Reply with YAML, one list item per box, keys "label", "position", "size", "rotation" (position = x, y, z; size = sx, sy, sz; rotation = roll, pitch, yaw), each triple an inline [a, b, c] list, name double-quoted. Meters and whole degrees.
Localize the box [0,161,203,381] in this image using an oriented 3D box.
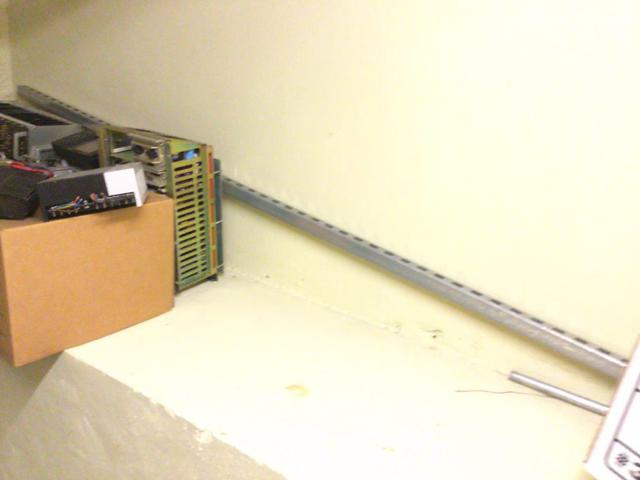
- label: "box"
  position: [-0.640, 0.030, 1.490]
  size: [0.380, 0.380, 0.530]
  rotation: [16, 18, 32]
